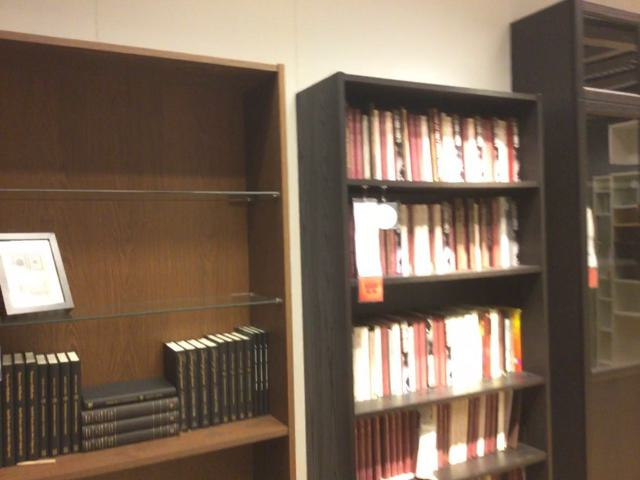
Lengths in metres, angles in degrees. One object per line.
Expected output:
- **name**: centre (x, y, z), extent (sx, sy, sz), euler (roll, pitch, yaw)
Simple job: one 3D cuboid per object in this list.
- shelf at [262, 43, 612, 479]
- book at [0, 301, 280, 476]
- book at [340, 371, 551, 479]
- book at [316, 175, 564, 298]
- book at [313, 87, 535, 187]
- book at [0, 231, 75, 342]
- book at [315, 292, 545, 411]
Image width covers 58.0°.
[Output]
- **shelf**: centre (0.380, 0.480, 1.930), extent (0.890, 1.990, 0.590), euler (-2, -4, -25)
- **book**: centre (-0.490, 0.350, 1.460), extent (0.730, 0.280, 0.230), euler (-2, 13, -25)
- **book**: centre (0.410, 0.600, 1.820), extent (0.700, 0.260, 0.110), euler (-2, 13, -25)
- **book**: centre (0.380, -0.030, 1.830), extent (0.720, 0.310, 0.270), euler (-2, 13, -25)
- **book**: centre (0.340, -0.320, 1.850), extent (0.690, 0.270, 0.190), euler (-2, 13, -25)
- **book**: centre (-0.680, 0.100, 1.370), extent (0.170, 0.200, 0.230), euler (-2, 13, -25)
- **book**: centre (0.360, 0.340, 1.880), extent (0.700, 0.230, 0.250), euler (-2, 13, -25)
